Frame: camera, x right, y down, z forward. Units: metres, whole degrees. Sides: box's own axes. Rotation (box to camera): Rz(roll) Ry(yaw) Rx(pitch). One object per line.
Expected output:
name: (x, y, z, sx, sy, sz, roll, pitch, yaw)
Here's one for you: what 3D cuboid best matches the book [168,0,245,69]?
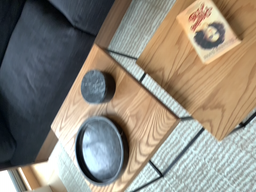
book: (0.220, -0.200, 0.620, 0.130, 0.030, 0.200, -36, 68, 30)
